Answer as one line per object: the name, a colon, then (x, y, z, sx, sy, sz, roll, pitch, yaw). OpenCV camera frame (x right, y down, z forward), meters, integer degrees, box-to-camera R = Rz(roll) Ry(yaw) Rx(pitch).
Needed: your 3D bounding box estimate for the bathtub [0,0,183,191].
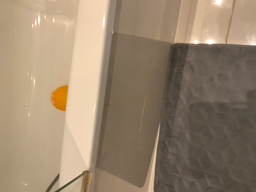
bathtub: (-0.320, 0.000, 0.820, 0.800, 0.530, 1.710, 13, 102, 23)
